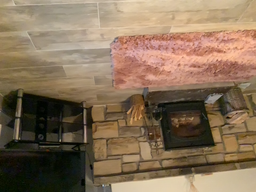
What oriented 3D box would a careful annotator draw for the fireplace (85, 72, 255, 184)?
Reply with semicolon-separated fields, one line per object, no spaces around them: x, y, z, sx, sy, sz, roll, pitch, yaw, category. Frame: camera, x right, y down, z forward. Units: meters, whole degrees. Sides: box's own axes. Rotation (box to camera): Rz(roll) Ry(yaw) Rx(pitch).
0.680;0.400;2.530;2.230;0.980;0.830;-4;158;-4;fireplace
